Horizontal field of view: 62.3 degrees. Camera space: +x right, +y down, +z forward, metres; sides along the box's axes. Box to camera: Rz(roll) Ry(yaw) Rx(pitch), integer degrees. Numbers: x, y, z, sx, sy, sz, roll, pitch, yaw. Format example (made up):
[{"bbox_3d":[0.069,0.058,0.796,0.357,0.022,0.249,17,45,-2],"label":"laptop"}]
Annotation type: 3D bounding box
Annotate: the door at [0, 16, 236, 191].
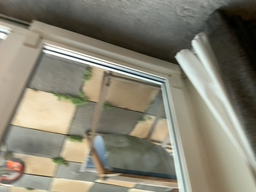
[{"bbox_3d":[-0.440,0.410,0.430,1.850,1.970,0.100,14,135,-16],"label":"door"}]
